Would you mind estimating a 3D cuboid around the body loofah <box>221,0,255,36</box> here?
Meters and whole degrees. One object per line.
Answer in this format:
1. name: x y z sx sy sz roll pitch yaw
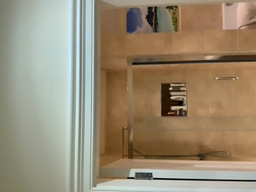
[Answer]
1. body loofah: 1.520 -1.050 2.650 0.530 0.490 0.460 -35 -55 -85
